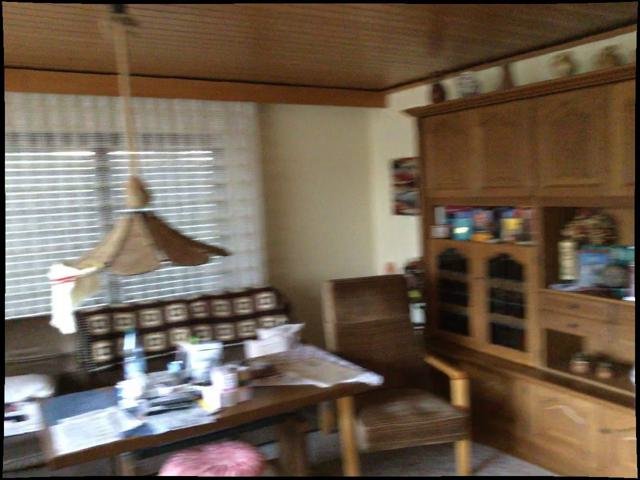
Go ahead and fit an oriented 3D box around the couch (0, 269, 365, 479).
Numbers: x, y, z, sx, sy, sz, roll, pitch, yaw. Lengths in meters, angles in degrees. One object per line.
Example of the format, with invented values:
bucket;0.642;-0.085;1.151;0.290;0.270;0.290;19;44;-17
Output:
couch;-0.999;0.821;3.470;2.338;0.891;1.080;-6;8;-33

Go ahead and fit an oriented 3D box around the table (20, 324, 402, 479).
table;-0.480;0.971;2.790;1.589;0.721;0.800;-6;8;-33
